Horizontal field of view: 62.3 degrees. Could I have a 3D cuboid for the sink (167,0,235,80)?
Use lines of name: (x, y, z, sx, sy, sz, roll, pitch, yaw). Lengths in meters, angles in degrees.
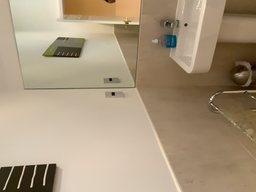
sink: (0.450, -0.440, 1.410, 0.430, 0.170, 0.540, -109, 21, -62)
